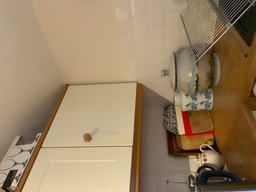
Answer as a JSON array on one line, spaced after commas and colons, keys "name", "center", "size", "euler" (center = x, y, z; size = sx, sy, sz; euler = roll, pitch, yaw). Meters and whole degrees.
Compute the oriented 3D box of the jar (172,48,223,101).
[{"name": "jar", "center": [0.430, -0.140, 1.380], "size": [0.250, 0.250, 0.230], "euler": [-85, -10, -48]}]
